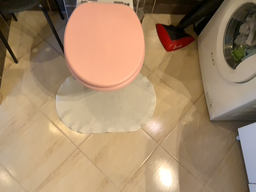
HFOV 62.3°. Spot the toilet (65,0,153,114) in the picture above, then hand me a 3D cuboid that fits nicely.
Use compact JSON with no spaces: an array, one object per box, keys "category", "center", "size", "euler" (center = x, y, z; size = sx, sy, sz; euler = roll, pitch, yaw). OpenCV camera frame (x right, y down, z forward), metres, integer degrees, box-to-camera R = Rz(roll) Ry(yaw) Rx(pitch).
[{"category":"toilet","center":[-0.120,-0.240,1.160],"size":[0.360,0.440,0.570],"euler":[-3,71,-7]}]
